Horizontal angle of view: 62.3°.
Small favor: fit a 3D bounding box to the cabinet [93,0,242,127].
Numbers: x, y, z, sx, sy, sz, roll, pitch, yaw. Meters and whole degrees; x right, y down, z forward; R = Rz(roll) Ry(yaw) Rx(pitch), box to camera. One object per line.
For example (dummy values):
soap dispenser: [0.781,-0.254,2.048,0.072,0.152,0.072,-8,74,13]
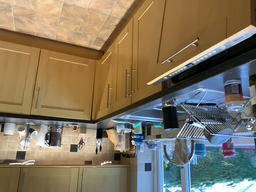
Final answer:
cabinet: [0.180,-0.250,1.900,0.580,0.900,1.330,8,164,-24]
